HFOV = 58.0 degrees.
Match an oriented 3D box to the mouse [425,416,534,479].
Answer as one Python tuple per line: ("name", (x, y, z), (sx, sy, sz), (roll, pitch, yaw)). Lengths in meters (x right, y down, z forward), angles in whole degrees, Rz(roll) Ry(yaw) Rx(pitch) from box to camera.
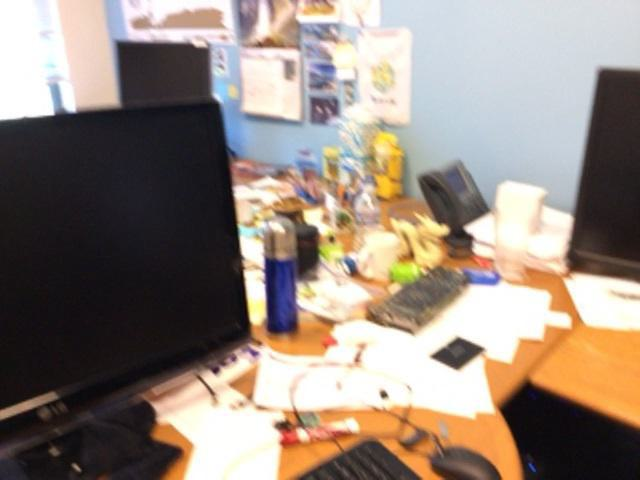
("mouse", (0.220, 0.310, 0.800), (0.110, 0.050, 0.100), (14, 25, 39))

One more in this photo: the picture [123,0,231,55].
("picture", (-0.640, -1.100, 2.440), (0.670, 0.600, 0.040), (14, 25, 39))

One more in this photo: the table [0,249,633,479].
("table", (-0.050, 0.280, 0.830), (0.670, 0.160, 0.880), (14, 25, 39))
